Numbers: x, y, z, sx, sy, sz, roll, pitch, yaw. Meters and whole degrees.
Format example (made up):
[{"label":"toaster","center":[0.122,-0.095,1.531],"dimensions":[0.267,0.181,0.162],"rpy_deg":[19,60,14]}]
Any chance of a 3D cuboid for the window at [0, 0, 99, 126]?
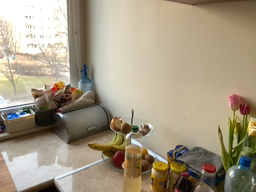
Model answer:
[{"label":"window","center":[-0.620,-0.550,1.350],"dimensions":[0.910,1.450,0.130],"rpy_deg":[-10,22,-36]}]
